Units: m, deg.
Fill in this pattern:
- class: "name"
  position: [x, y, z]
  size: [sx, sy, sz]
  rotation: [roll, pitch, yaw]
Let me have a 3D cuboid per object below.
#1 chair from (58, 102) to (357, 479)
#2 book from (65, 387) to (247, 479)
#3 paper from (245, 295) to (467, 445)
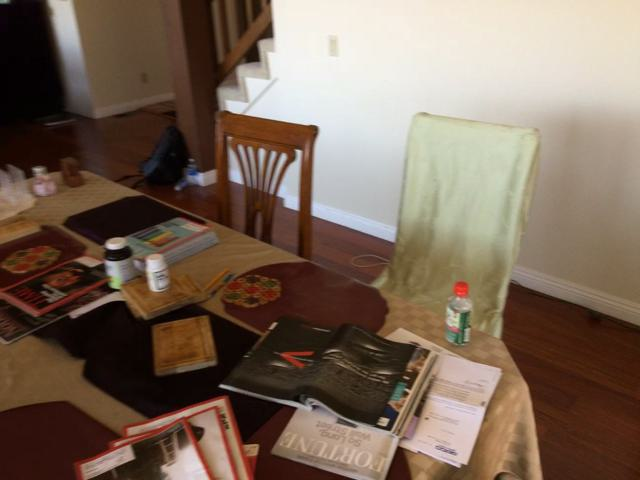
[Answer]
- class: "chair"
  position: [-0.320, 0.160, 1.970]
  size: [0.580, 1.040, 0.670]
  rotation: [23, 36, 38]
- class: "book"
  position: [-0.270, 0.390, 0.950]
  size: [0.270, 0.040, 0.310]
  rotation: [-11, 29, -18]
- class: "paper"
  position: [0.080, 0.250, 1.210]
  size: [0.380, 0.050, 0.270]
  rotation: [13, 31, 25]
